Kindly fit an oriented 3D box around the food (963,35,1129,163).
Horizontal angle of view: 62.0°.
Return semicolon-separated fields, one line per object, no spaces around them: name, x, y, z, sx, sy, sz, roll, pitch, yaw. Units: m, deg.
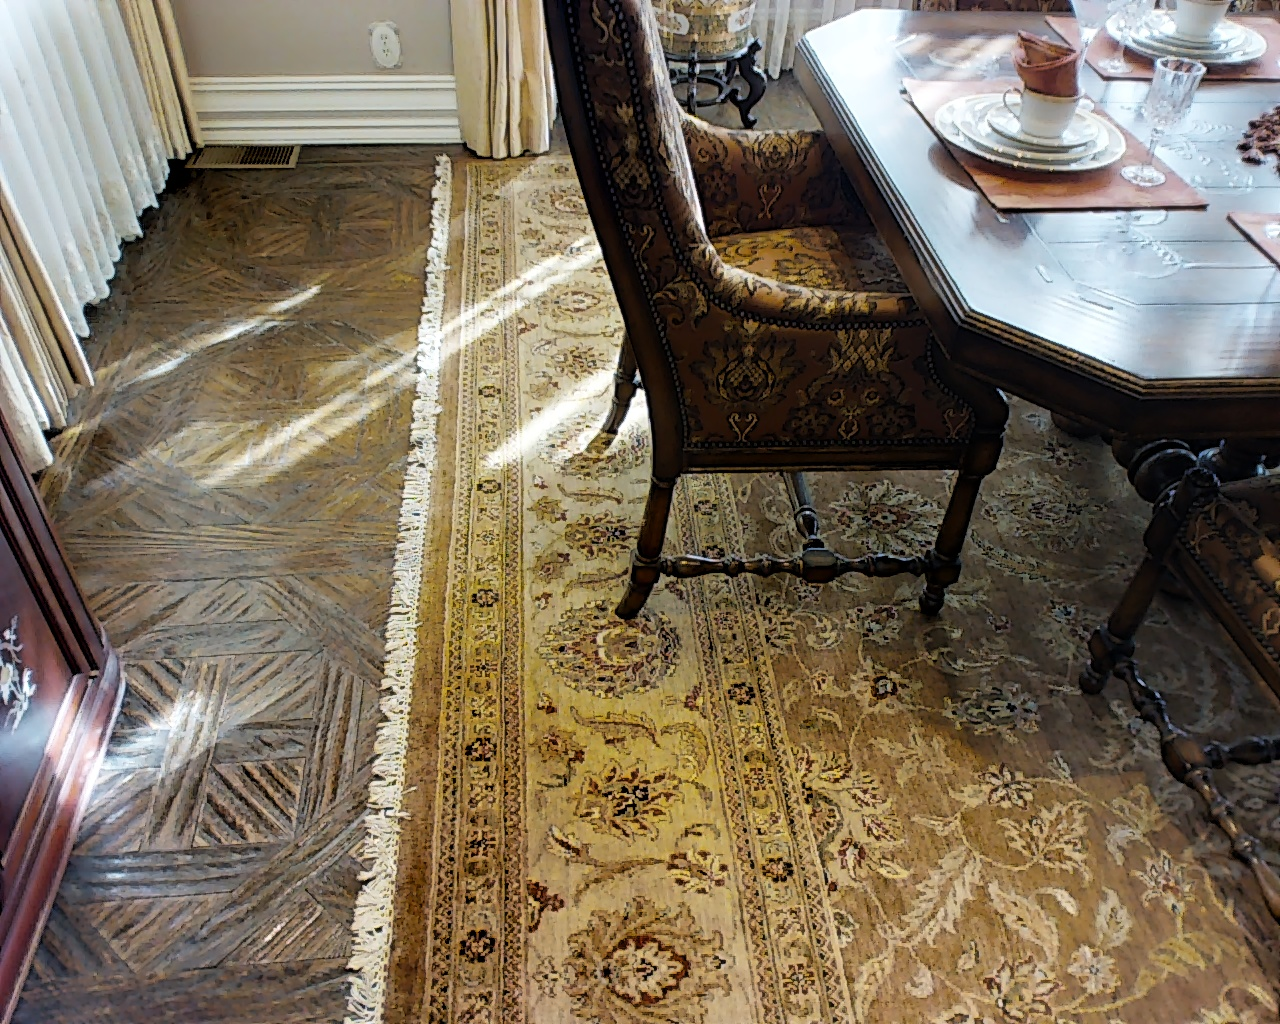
food;0.610;-0.630;1.620;0.160;0.130;0.160;-3;42;-6

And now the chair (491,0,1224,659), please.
chair;0.200;-0.470;1.790;0.830;1.190;0.790;-3;42;-5
